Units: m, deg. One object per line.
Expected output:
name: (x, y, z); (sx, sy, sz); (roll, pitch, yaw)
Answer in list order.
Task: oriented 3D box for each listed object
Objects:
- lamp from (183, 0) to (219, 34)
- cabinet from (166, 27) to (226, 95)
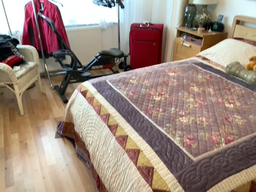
lamp: (0.940, -1.090, 2.750); (0.290, 0.470, 0.260); (-14, 32, -25)
cabinet: (0.900, -0.500, 2.940); (0.440, 0.760, 0.520); (-13, 32, -25)
